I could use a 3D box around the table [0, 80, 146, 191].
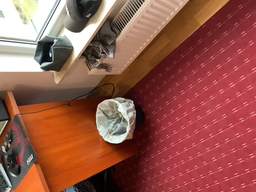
[{"bbox_3d":[-0.650,0.530,1.670,1.190,0.790,0.710,-43,69,33],"label":"table"}]
